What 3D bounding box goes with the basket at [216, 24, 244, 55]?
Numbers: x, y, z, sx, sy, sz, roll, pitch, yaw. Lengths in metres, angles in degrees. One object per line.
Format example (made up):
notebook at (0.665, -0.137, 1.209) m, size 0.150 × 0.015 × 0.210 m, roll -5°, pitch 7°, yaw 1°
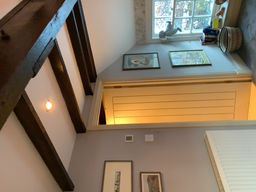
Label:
basket at (1.470, -0.820, 3.080) m, size 0.310 × 0.220 × 0.320 m, roll -88°, pitch -4°, yaw -49°
